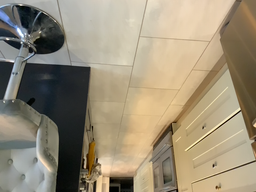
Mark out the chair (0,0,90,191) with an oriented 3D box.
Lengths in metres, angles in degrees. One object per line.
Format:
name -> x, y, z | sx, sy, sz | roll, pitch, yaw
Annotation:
chair -> -0.590, 0.060, 1.060 | 0.570, 1.050, 0.540 | -6, 152, 9
